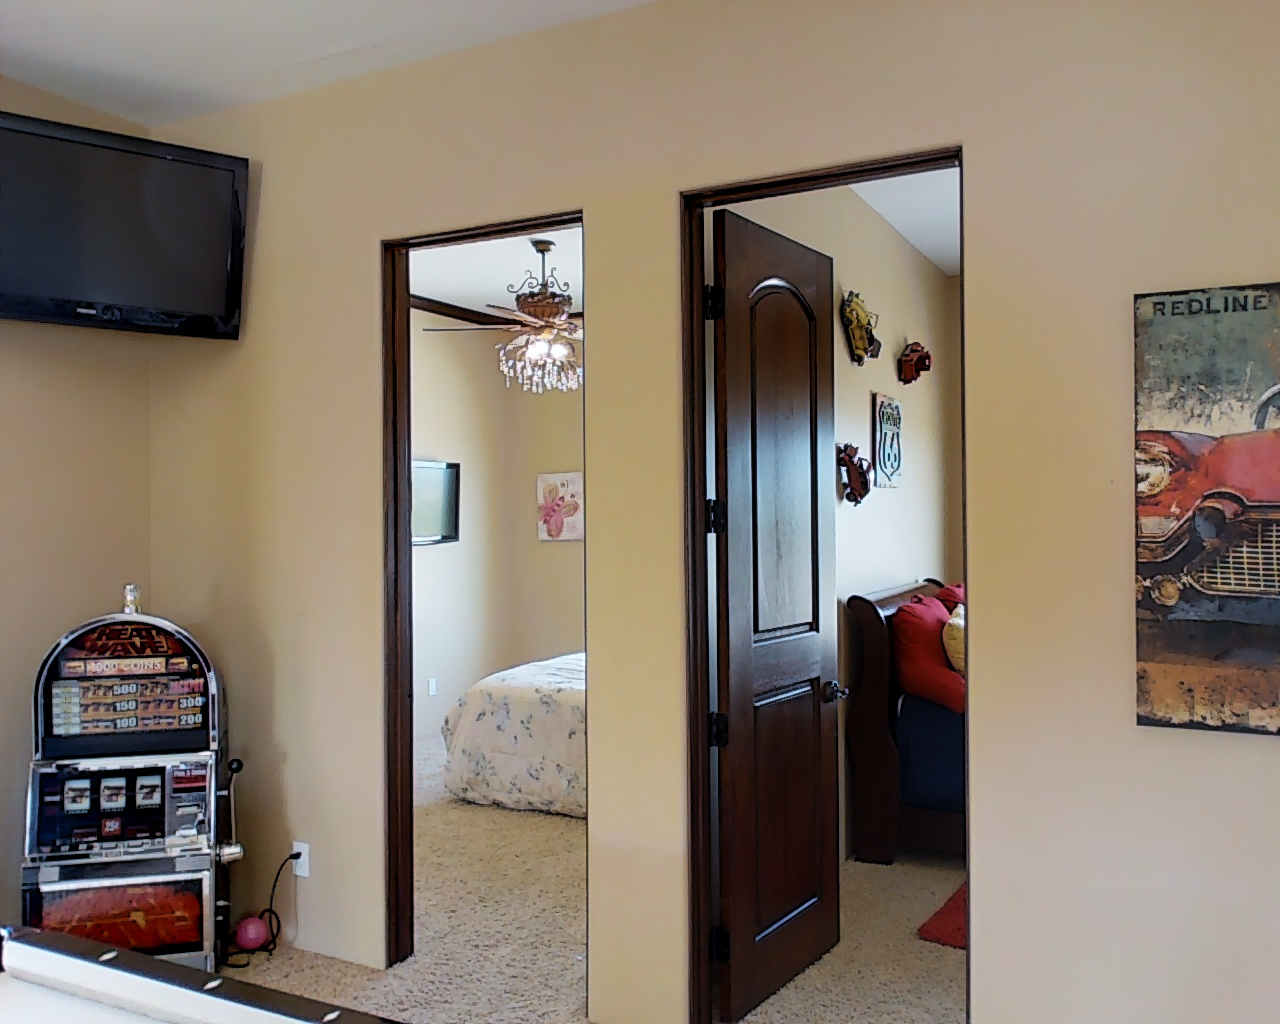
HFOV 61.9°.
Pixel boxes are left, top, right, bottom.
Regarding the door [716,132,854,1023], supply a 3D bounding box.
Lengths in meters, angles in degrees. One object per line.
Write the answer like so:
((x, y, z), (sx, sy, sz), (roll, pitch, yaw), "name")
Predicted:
((0.490, 0.200, 3.460), (0.060, 2.620, 0.800), (0, 0, 35), "door")

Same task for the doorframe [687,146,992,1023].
((0.540, 0.290, 2.960), (0.790, 2.420, 0.190), (0, 0, 28), "doorframe")
